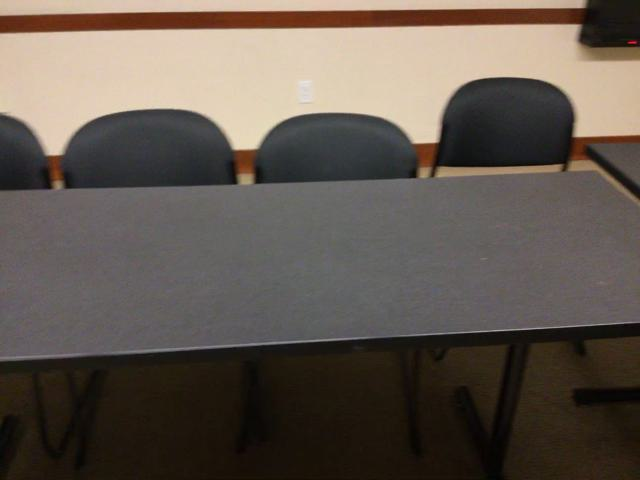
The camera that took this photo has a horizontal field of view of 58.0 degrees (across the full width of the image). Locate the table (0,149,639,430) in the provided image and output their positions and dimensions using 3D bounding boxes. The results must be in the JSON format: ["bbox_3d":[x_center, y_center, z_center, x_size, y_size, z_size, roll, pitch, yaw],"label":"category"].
[{"bbox_3d":[-0.170,0.020,1.130,1.890,0.110,0.740,-3,27,-10],"label":"table"}]
